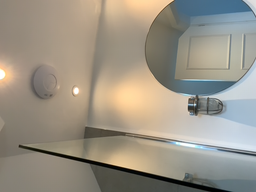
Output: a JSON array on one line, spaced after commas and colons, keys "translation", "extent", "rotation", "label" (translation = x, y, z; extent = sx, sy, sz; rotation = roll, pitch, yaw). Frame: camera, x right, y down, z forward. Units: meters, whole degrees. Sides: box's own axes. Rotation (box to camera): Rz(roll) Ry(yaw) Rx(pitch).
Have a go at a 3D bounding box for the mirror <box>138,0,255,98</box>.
[{"translation": [0.450, -0.360, 1.380], "extent": [0.050, 0.730, 0.700], "rotation": [22, -106, -64], "label": "mirror"}]
